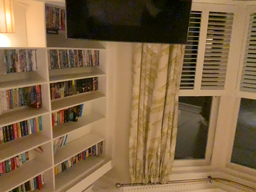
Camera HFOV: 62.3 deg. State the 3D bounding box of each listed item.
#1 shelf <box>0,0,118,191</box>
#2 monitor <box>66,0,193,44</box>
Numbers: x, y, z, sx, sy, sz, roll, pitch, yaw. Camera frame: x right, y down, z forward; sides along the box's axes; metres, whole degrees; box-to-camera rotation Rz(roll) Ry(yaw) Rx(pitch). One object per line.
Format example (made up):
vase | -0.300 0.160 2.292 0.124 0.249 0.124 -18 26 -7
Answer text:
shelf | -0.780 0.160 2.000 0.430 1.950 1.700 11 -164 30
monitor | 0.040 -0.800 1.750 1.070 0.690 0.050 -2 -167 -14
